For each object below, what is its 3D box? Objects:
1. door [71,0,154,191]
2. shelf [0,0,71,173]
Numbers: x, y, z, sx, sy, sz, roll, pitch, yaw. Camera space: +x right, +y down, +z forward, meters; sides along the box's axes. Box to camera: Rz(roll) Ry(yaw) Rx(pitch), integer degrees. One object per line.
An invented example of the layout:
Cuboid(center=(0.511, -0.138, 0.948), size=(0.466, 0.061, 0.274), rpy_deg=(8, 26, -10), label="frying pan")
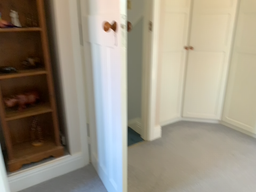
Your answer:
Cuboid(center=(-0.140, -0.150, 1.420), size=(0.160, 2.070, 0.750), rpy_deg=(-12, 22, -30), label="door")
Cuboid(center=(-0.850, -0.390, 1.650), size=(0.500, 1.900, 0.400), rpy_deg=(-14, 23, -34), label="shelf")
